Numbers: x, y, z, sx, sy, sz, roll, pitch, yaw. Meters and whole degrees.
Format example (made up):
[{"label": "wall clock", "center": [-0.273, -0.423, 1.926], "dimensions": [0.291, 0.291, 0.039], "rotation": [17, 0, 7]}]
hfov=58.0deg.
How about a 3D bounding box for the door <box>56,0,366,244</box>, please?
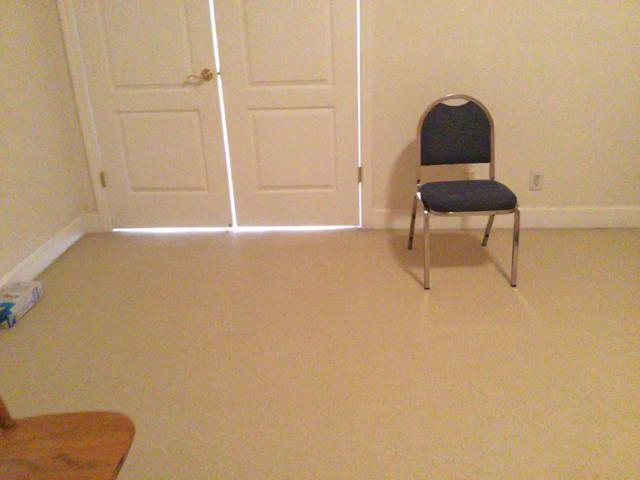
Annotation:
[{"label": "door", "center": [-0.530, -0.940, 3.010], "dimensions": [1.510, 1.950, 0.190], "rotation": [-1, 21, 3]}]
